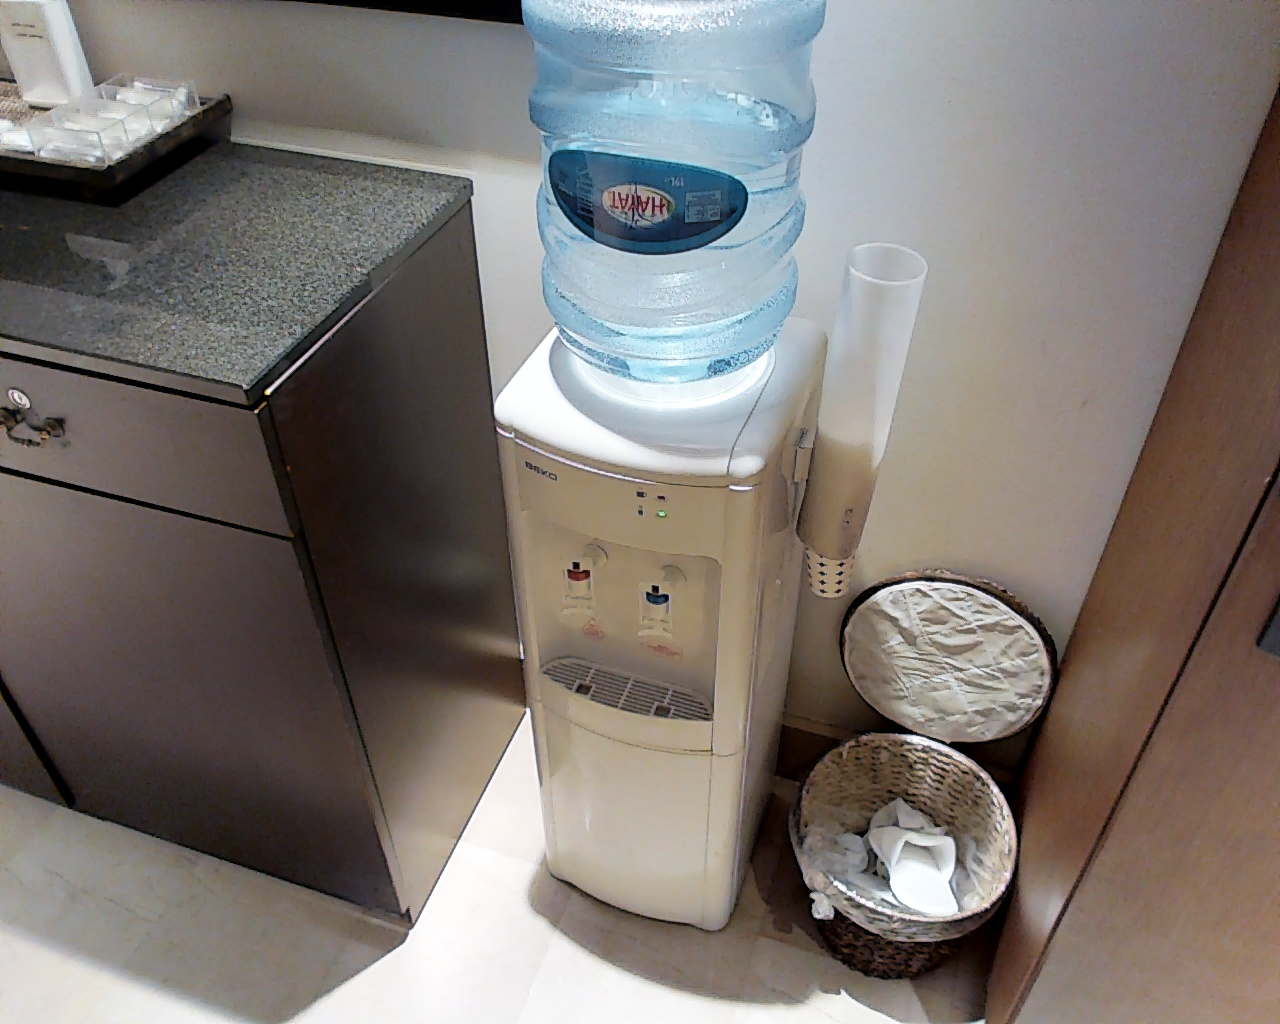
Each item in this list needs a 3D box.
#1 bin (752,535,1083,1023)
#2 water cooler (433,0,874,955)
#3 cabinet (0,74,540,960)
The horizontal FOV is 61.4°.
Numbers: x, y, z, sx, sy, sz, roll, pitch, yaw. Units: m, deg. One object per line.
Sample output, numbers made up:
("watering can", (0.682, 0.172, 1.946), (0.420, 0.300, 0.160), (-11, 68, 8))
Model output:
("bin", (0.390, 0.400, 1.580), (0.330, 0.590, 0.350), (13, 43, 14))
("water cooler", (0.040, 0.020, 1.400), (0.310, 1.390, 0.390), (10, 42, 12))
("cabinet", (-0.870, -0.010, 1.640), (1.260, 1.090, 0.530), (12, 43, 13))
